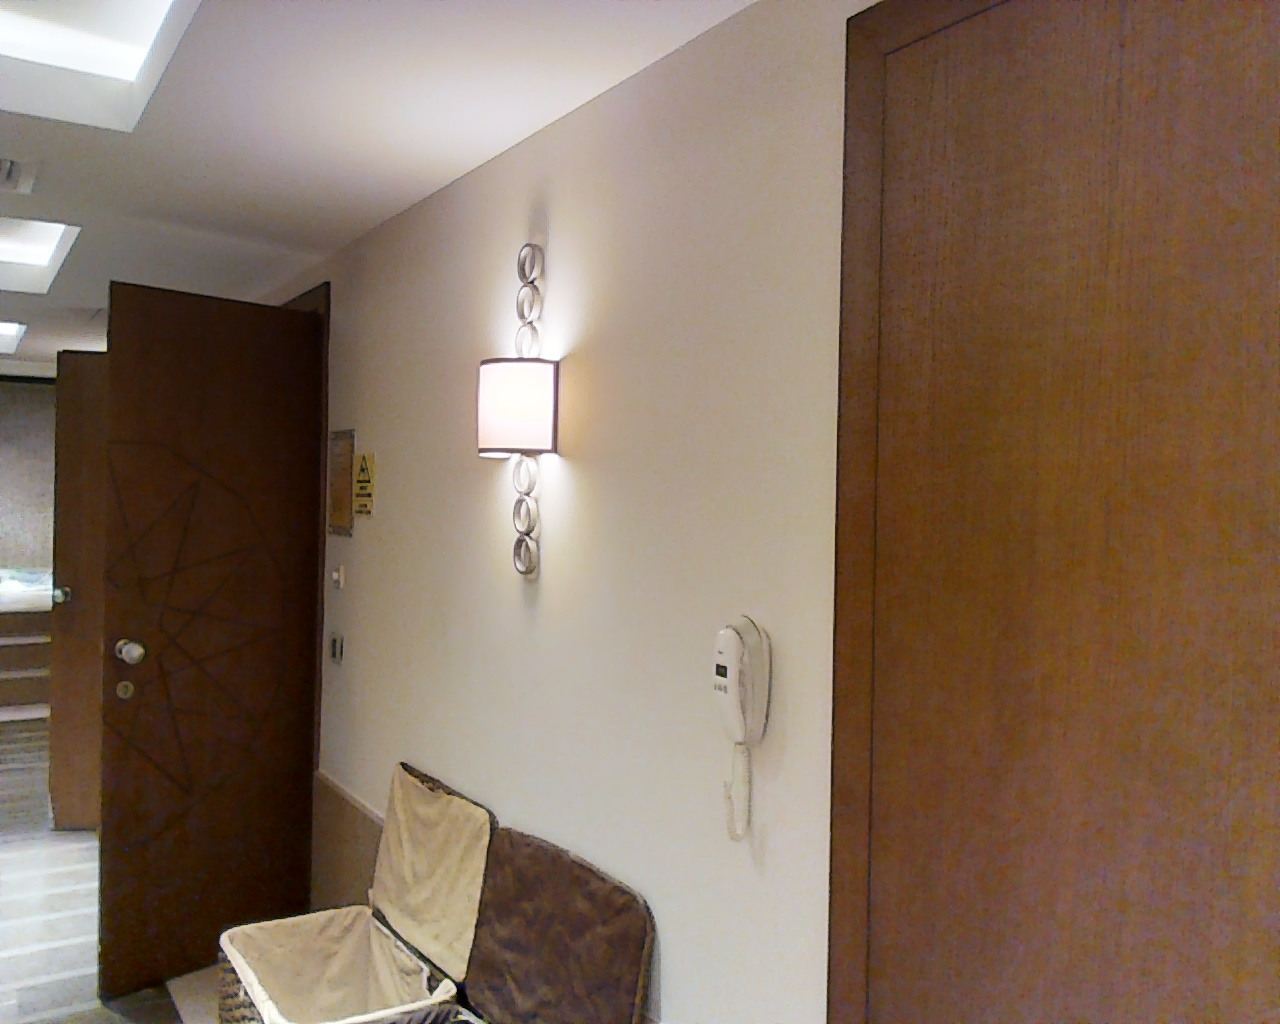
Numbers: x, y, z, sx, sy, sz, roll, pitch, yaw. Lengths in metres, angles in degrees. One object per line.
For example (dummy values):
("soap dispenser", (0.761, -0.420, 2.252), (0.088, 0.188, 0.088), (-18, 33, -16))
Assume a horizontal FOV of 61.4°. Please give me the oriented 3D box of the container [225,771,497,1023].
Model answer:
("container", (-0.730, 1.170, 2.720), (0.470, 0.830, 0.710), (1, 0, -31))
